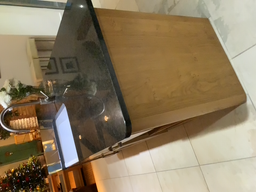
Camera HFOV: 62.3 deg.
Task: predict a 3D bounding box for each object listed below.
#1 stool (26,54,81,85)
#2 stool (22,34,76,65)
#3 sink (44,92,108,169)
[{"bbox_3d":[-1.200,-0.440,3.440,0.350,0.740,0.340,-37,66,54],"label":"stool"},{"bbox_3d":[-1.310,-0.770,3.530,0.340,0.740,0.360,-37,66,54],"label":"stool"},{"bbox_3d":[-0.490,0.320,1.840,0.650,0.280,0.460,-41,64,53],"label":"sink"}]
